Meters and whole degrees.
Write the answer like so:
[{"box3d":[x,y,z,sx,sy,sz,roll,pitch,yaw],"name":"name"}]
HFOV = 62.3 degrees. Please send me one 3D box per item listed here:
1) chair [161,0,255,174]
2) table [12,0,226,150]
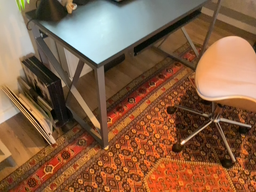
[{"box3d":[0.600,-0.050,1.280,0.610,0.850,0.600,10,48,5],"name":"chair"},{"box3d":[0.020,-0.400,1.620,0.730,0.740,1.230,37,56,25],"name":"table"}]
